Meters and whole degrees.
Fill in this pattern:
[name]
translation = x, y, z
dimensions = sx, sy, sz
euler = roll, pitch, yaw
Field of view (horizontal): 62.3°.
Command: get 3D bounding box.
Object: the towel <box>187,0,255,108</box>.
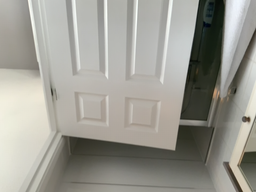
[towel]
translation = 0.460, -0.470, 0.950
dimensions = 0.170, 1.060, 0.250
euler = 3, -153, 2
